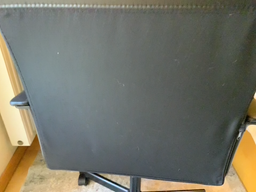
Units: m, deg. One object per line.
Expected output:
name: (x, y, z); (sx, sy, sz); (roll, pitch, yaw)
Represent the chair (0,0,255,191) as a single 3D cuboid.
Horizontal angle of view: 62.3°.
chair: (0.040, 0.020, 0.760); (0.670, 1.200, 0.660); (5, 31, 7)
